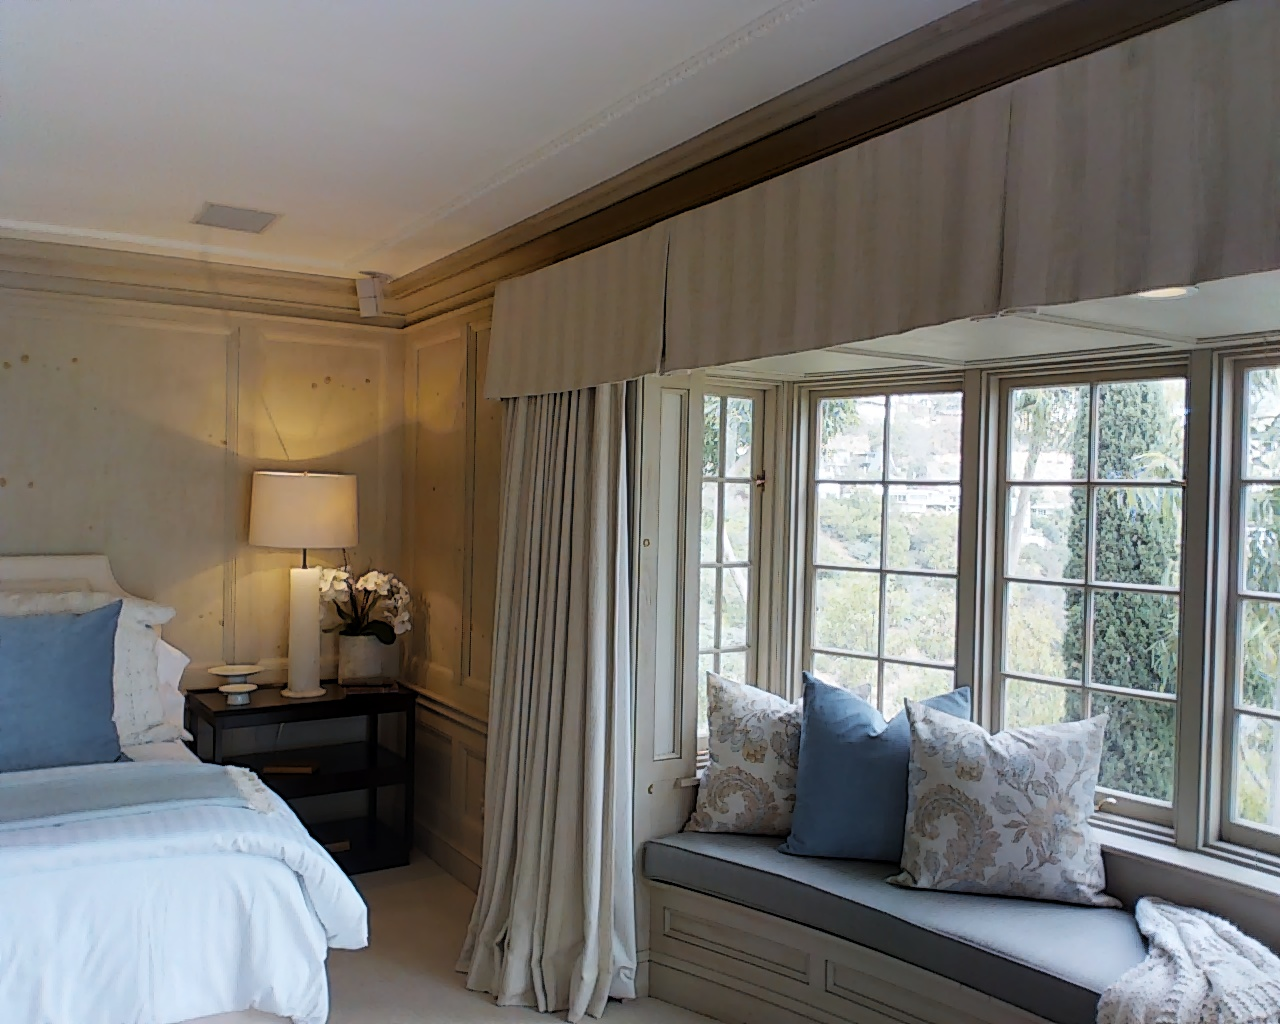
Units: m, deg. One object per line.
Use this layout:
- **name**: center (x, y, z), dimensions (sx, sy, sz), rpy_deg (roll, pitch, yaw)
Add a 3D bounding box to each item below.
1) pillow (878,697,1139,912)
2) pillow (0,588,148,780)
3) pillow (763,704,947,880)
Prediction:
- **pillow**: center (0.960, 0.770, 2.840), dimensions (0.530, 0.460, 0.180), rpy_deg (-18, -17, 27)
- **pillow**: center (-1.840, 0.530, 3.300), dimensions (0.550, 0.530, 0.290), rpy_deg (0, -15, -33)
- **pillow**: center (0.610, 0.810, 3.110), dimensions (0.440, 0.440, 0.110), rpy_deg (-17, -15, 31)
